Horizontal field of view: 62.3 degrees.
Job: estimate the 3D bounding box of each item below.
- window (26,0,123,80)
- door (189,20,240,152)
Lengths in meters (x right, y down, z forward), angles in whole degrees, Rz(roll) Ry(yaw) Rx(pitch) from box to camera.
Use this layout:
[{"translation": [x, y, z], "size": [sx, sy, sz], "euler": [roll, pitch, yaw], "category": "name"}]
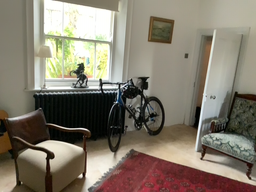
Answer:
[{"translation": [-0.770, -0.830, 3.220], "size": [1.370, 1.160, 0.090], "euler": [-1, 14, -24], "category": "window"}, {"translation": [1.290, -0.110, 3.170], "size": [0.780, 1.850, 0.030], "euler": [-6, 16, -37], "category": "door"}]
